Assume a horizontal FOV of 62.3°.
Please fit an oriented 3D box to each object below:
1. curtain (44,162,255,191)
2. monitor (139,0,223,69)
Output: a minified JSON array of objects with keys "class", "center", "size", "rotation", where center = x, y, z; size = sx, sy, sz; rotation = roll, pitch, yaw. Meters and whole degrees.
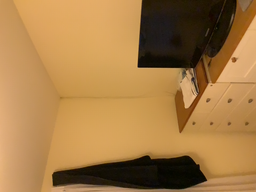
[{"class":"curtain","center":[0.440,0.790,1.790],"size":[0.190,2.220,0.410],"rotation":[91,179,-59]},{"class":"monitor","center":[0.290,-0.390,1.350],"size":[0.630,0.430,0.050],"rotation":[86,-177,-60]}]
